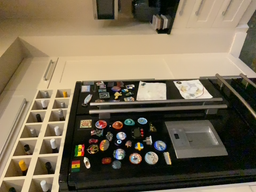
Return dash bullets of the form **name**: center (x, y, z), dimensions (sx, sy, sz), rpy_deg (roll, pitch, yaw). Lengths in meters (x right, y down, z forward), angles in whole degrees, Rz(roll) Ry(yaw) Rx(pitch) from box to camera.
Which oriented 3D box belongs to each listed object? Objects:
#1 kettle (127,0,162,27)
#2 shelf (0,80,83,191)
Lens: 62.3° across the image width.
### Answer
- **kettle**: center (0.180, -1.010, 2.500), dimensions (0.260, 0.340, 0.290), rpy_deg (96, 170, -54)
- **shelf**: center (-0.570, 0.440, 1.610), dimensions (1.010, 0.320, 0.660), rpy_deg (-100, 9, -52)
